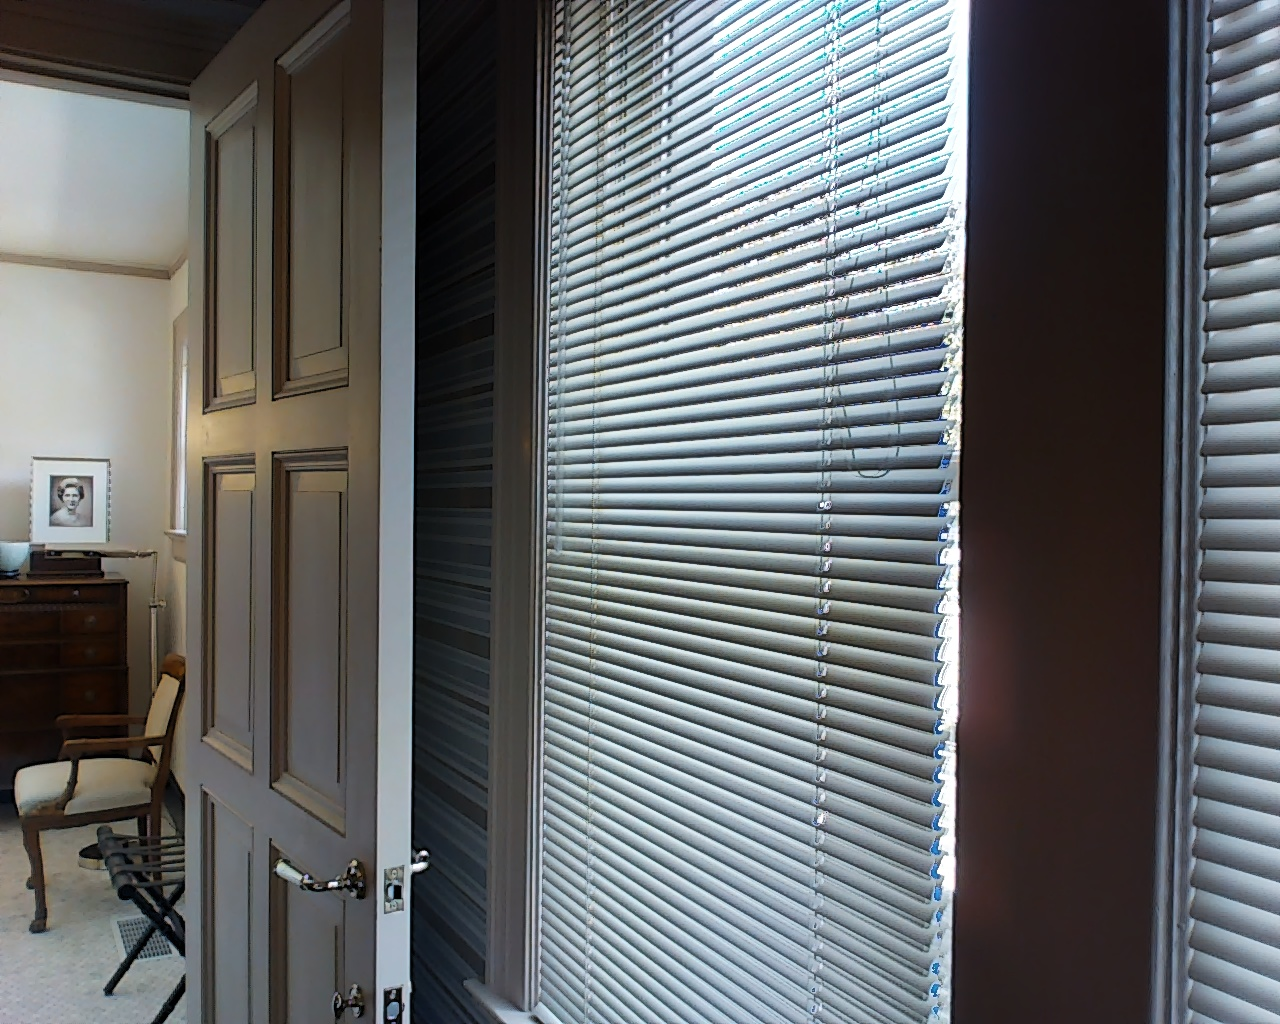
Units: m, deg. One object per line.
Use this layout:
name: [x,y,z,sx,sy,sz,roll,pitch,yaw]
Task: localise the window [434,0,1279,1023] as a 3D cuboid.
window: [0.260,-0.030,0.800,0.140,1.790,2.090,1,0,-29]
